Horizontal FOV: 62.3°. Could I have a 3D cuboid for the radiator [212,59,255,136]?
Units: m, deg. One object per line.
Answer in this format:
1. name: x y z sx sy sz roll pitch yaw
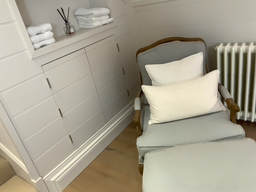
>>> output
1. radiator: 1.170 0.040 1.900 0.760 0.700 0.130 10 34 38
